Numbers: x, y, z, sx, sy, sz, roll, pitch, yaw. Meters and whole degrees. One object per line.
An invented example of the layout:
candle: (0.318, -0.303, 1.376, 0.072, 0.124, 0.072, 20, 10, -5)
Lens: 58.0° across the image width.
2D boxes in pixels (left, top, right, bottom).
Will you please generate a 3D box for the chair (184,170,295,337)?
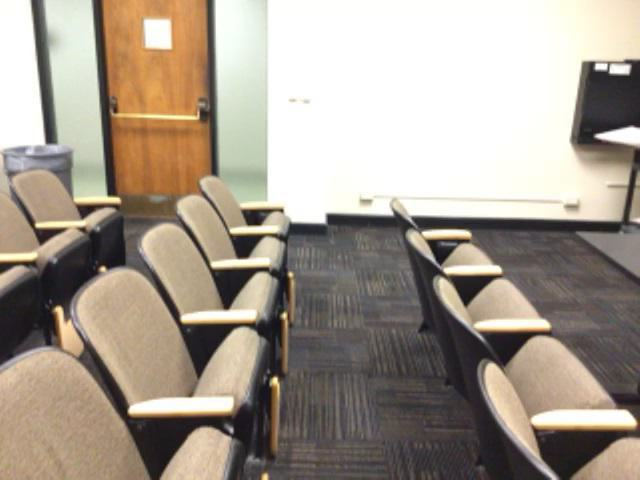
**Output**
chair: (-0.400, 0.050, 3.150, 0.520, 0.760, 0.570, -1, 17, -2)

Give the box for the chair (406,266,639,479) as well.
chair: (0.570, 0.520, 1.690, 0.500, 0.730, 0.570, -1, 17, -2)

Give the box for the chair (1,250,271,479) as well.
chair: (-0.450, 0.490, 1.710, 0.560, 0.770, 0.590, 0, 17, -1)

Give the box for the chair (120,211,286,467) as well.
chair: (-0.390, 0.340, 2.220, 0.500, 0.780, 0.590, -1, 17, -2)
